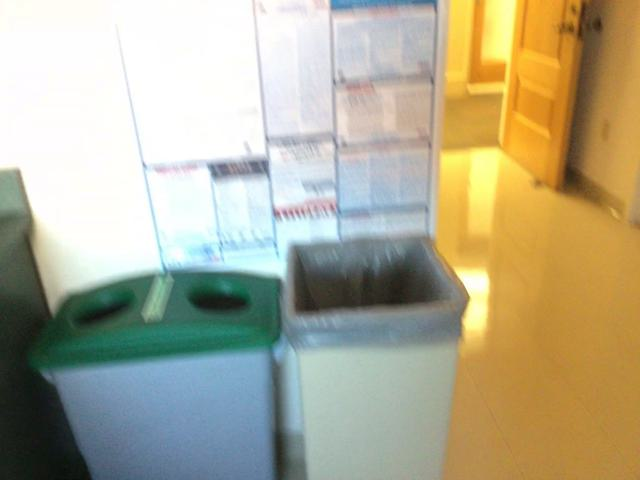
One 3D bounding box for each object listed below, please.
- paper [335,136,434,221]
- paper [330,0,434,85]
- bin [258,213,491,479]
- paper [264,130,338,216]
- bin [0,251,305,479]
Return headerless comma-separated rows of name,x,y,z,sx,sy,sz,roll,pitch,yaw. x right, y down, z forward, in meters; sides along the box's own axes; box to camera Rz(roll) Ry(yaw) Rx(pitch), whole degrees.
paper,0.150,-0.140,1.330,0.220,0.170,0.030,-7,28,-4
paper,0.130,-0.410,1.200,0.210,0.150,0.020,-7,28,-4
bin,0.110,0.370,1.400,0.420,0.720,0.410,-7,28,-4
paper,-0.040,-0.150,1.310,0.150,0.180,0.020,-7,28,-4
bin,-0.340,0.420,1.390,0.560,0.670,0.280,-7,28,-4
